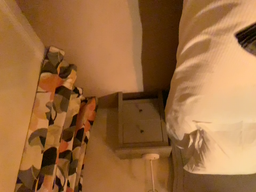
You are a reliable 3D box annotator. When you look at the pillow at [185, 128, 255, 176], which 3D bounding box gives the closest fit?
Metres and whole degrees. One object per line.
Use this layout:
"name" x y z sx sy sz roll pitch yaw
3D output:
"pillow" 0.840 0.500 1.820 0.570 0.250 0.600 -4 152 5
